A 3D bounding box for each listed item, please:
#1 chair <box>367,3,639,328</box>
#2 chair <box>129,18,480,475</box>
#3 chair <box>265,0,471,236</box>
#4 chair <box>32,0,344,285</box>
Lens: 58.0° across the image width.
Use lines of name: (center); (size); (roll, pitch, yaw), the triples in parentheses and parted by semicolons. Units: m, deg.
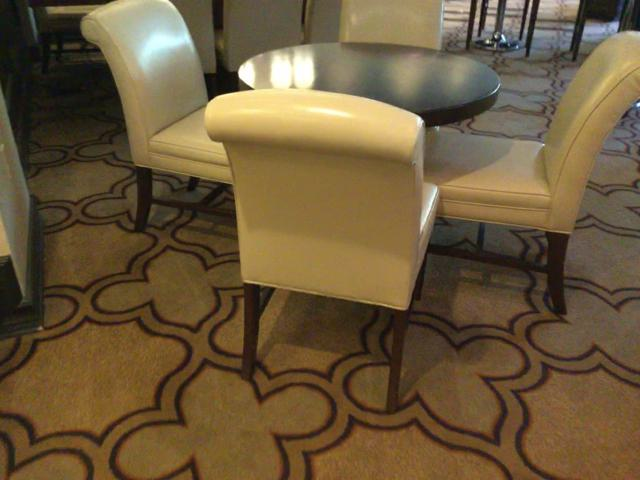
chair: (0.650, -0.290, 2.020); (0.830, 0.880, 0.560); (10, 34, 17)
chair: (0.050, -0.050, 1.670); (0.600, 0.930, 0.850); (10, 34, 17)
chair: (0.260, -0.680, 2.610); (0.680, 0.940, 0.840); (8, 34, 15)
chair: (-0.450, -0.480, 2.390); (0.920, 0.950, 0.660); (12, 35, 20)
